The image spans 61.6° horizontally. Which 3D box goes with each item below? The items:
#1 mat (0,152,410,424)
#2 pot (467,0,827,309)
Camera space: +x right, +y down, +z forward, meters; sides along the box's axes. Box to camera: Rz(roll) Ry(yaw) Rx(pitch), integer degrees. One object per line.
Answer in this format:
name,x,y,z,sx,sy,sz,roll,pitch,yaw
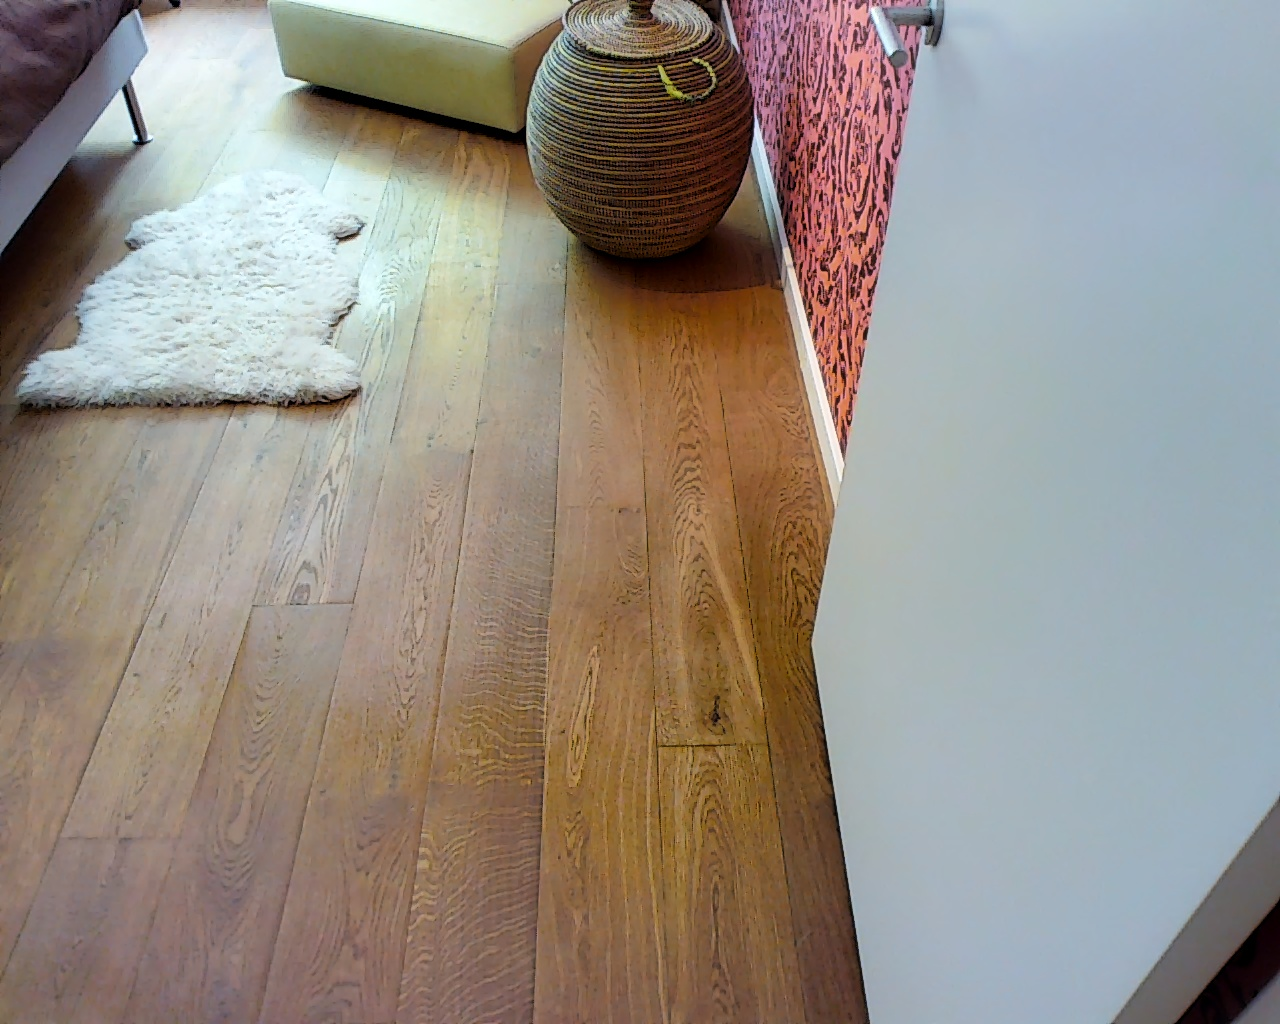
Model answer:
mat,-1.040,-0.620,2.710,0.760,0.060,1.210,-1,42,-2
pot,-0.010,-1.020,2.680,0.640,0.680,0.620,-16,45,-18
